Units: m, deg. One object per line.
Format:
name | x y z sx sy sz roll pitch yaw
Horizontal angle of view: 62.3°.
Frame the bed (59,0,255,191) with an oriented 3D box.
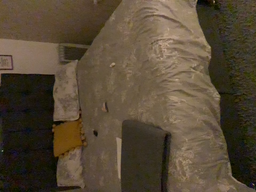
bed | -0.060 0.180 2.080 2.250 0.620 1.560 -27 68 57
